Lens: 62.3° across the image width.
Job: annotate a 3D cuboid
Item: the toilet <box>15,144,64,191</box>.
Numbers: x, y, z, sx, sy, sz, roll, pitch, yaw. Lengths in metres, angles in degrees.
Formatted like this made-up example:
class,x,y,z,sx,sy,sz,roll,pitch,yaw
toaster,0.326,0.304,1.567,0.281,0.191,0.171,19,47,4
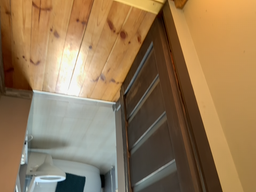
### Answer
class,x,y,z,sx,sy,sz,roll,pitch,yaw
toilet,-1.220,1.130,2.920,0.520,0.810,0.370,9,145,-22
